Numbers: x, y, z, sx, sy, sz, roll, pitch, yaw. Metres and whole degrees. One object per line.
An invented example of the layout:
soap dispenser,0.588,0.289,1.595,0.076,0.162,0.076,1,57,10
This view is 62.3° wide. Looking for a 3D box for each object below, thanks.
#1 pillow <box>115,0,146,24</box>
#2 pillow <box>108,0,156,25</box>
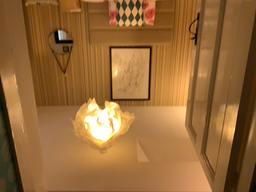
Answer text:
pillow,0.020,-1.200,2.950,0.410,0.370,0.260,-1,-161,-3
pillow,0.050,-1.270,3.190,0.690,0.370,0.320,0,-161,-3
